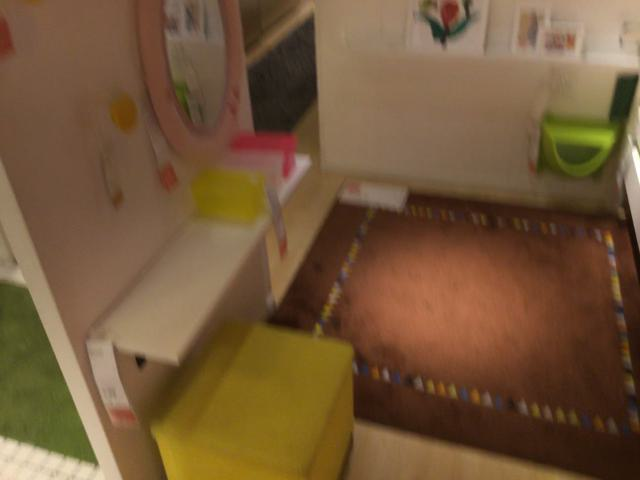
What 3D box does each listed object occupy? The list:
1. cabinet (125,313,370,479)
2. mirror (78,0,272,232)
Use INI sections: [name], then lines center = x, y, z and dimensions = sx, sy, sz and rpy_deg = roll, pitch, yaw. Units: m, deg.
[cabinet]
center = -0.140, 0.480, 1.400
dimensions = 0.410, 0.370, 0.380
rpy_deg = 10, 37, 21
[mirror]
center = -0.280, -0.380, 1.310
dimensions = 0.050, 0.520, 0.530
rpy_deg = 10, 37, 21
